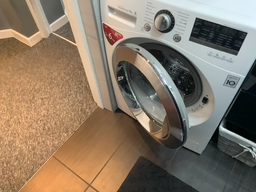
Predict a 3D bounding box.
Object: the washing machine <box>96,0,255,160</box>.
[{"bbox_3d":[0.280,-0.190,1.090,0.590,0.850,0.500,29,60,23],"label":"washing machine"}]
